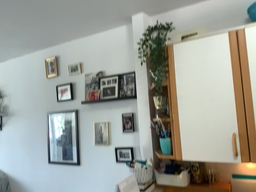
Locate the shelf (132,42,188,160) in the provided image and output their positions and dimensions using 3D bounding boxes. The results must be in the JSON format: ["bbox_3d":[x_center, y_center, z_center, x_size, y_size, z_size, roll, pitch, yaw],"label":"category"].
[{"bbox_3d":[0.230,0.040,1.490,0.260,0.730,0.280,-6,-5,28],"label":"shelf"}]
